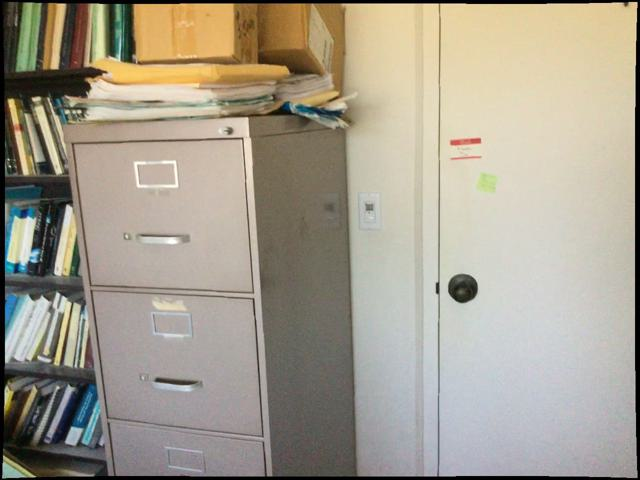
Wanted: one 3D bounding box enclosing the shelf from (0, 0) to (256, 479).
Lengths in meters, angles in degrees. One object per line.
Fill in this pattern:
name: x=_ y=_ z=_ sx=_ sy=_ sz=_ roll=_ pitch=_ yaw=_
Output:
shelf: x=-0.828 y=-0.030 z=1.850 sx=1.057 sy=1.684 sz=0.420 roll=1 pitch=13 yaw=13
